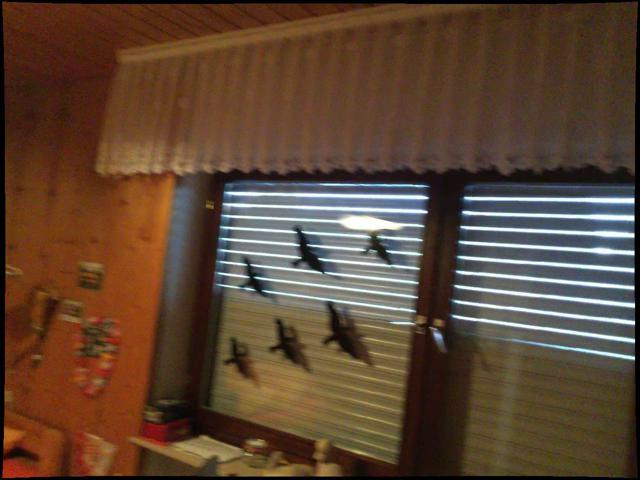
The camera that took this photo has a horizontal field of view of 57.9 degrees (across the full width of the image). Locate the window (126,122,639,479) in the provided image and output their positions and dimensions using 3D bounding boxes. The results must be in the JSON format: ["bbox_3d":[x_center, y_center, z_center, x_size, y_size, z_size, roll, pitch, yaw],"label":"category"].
[{"bbox_3d":[0.240,0.330,2.070,2.109,1.351,0.420,5,-2,33],"label":"window"}]
